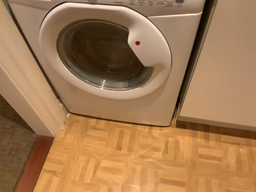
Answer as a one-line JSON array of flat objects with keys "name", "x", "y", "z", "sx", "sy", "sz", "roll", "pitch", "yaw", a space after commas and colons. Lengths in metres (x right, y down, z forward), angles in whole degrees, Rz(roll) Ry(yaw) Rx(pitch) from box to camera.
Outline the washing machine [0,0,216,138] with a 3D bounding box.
[{"name": "washing machine", "x": -0.040, "y": -0.340, "z": 1.000, "sx": 0.640, "sy": 0.930, "sz": 0.650, "roll": 8, "pitch": 56, "yaw": 7}]
